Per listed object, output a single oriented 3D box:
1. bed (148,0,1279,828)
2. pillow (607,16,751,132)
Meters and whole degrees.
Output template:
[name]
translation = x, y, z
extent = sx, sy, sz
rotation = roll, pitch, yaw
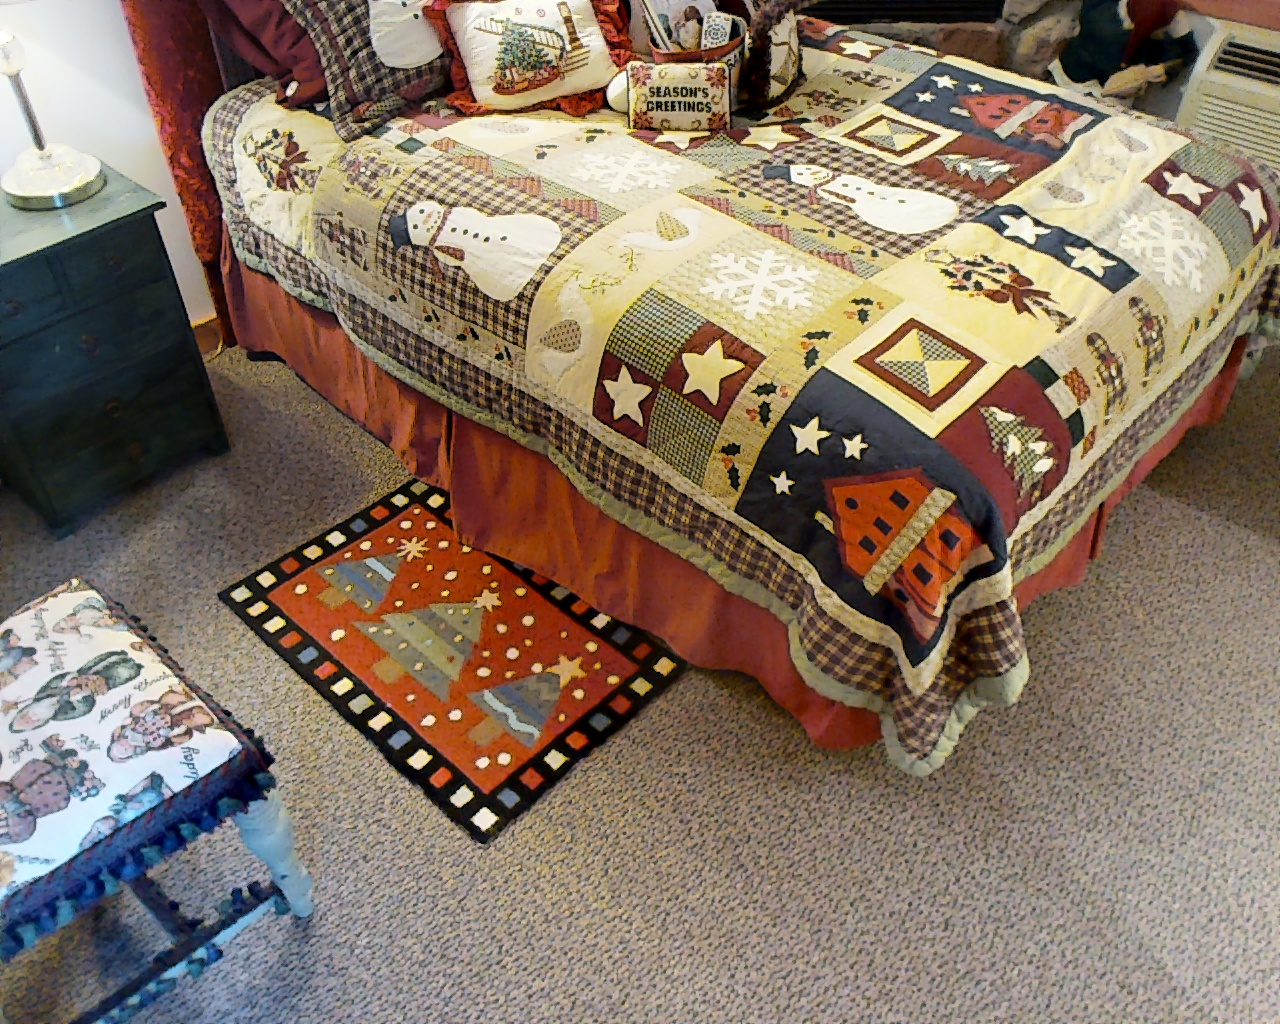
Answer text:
[bed]
translation = 0.240, -0.890, 2.110
extent = 2.120, 1.490, 1.420
rotation = 32, 51, 30
[pillow]
translation = 0.070, -0.890, 2.180
extent = 0.270, 0.130, 0.270
rotation = -1, 42, -1
